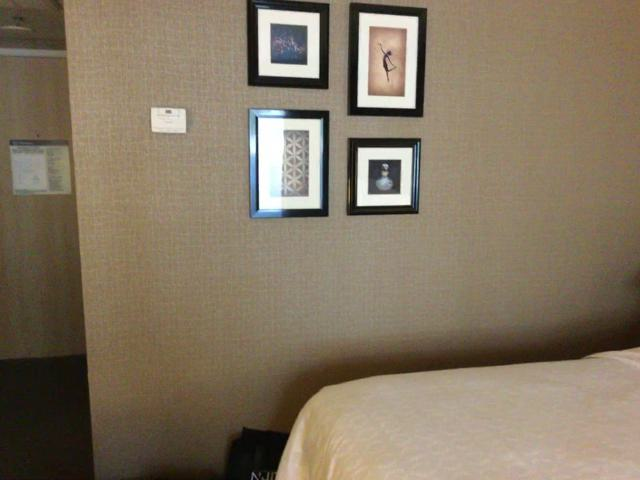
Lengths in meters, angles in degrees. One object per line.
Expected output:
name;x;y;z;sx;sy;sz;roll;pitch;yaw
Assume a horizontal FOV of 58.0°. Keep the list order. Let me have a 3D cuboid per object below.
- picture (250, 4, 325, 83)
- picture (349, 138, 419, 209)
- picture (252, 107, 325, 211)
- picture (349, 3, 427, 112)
picture;-0.120;-0.720;2.130;0.270;0.260;0.030;0;6;-13
picture;0.250;-0.260;2.270;0.270;0.270;0.030;0;6;-13
picture;-0.120;-0.300;2.180;0.270;0.380;0.020;0;6;-13
picture;0.260;-0.690;2.210;0.290;0.380;0.040;0;6;-13
